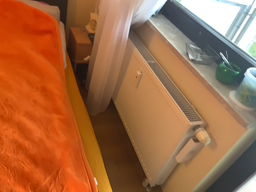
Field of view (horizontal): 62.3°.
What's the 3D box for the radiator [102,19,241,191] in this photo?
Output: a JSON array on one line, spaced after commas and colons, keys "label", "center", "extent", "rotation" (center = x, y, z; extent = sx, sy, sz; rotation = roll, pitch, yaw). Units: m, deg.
[{"label": "radiator", "center": [0.120, 0.080, 1.390], "extent": [0.160, 0.770, 0.950], "rotation": [-5, 44, -27]}]
